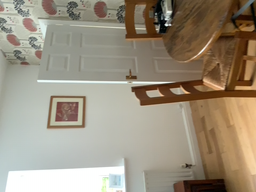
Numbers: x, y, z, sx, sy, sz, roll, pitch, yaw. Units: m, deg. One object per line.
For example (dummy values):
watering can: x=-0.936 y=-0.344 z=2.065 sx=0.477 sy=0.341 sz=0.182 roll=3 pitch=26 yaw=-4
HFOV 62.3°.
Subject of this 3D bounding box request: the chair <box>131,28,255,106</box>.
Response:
chair: x=0.570 y=-0.230 z=1.550 sx=0.450 sy=1.020 sz=0.470 roll=-113 pitch=25 yaw=-71
